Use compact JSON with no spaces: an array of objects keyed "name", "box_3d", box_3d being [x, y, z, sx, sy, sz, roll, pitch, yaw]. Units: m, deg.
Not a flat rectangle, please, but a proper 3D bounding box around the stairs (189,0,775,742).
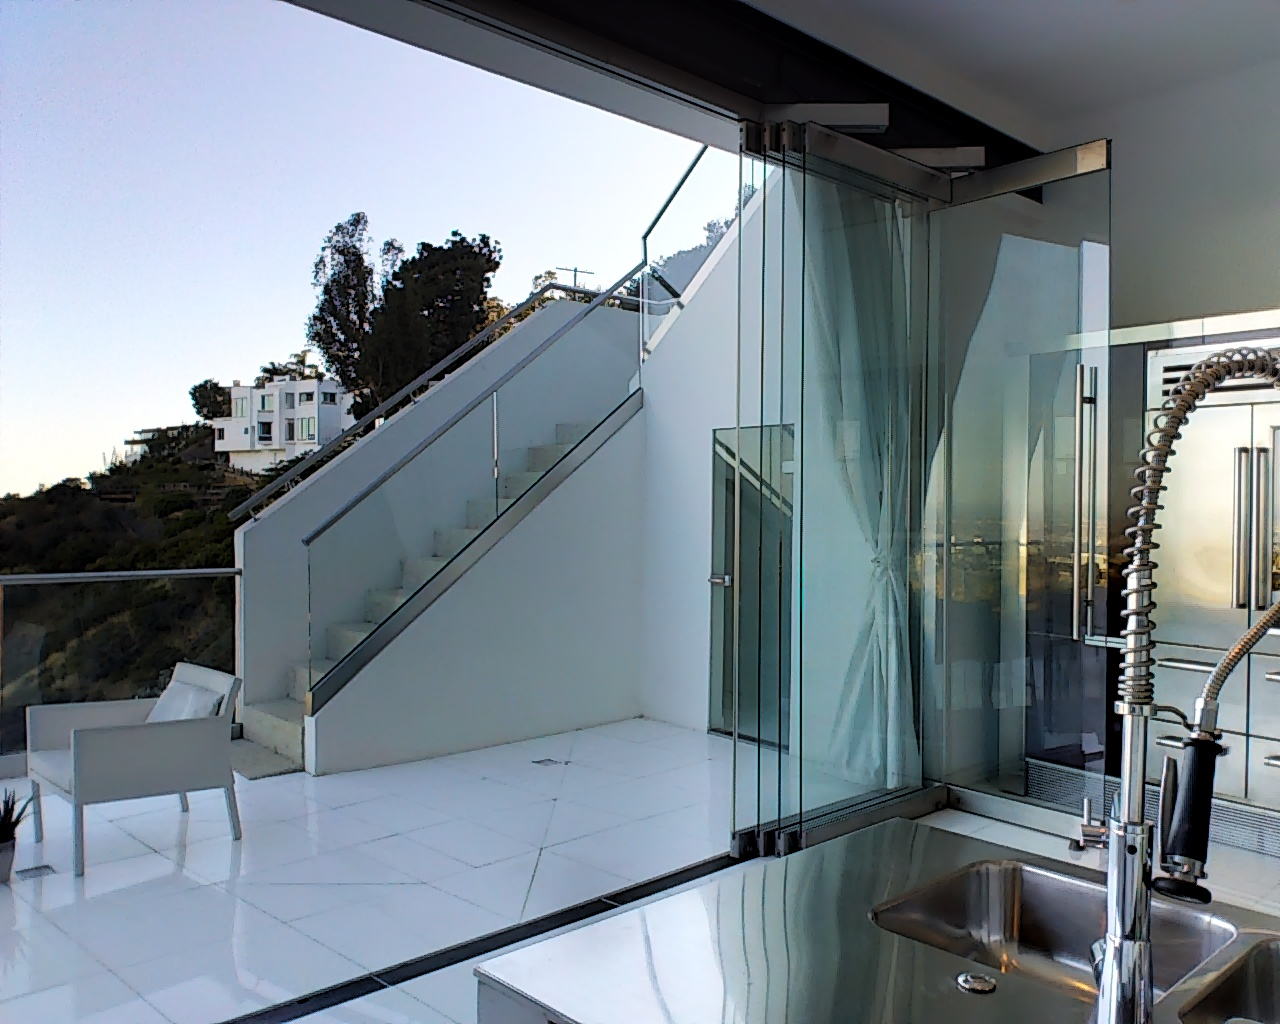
[{"name":"stairs","box_3d":[-0.940,-0.810,7.530,3.790,4.061,1.530,0,1,-40]}]
